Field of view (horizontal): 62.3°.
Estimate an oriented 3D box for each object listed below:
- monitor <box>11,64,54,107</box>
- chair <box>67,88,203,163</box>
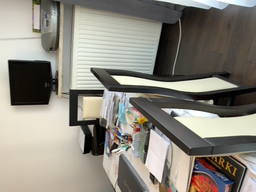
[{"bbox_3d":[-0.890,-0.090,1.980,0.040,0.340,0.450,58,140,43],"label":"monitor"},{"bbox_3d":[0.050,0.200,1.890,0.470,1.070,0.390,-135,49,-55],"label":"chair"}]
